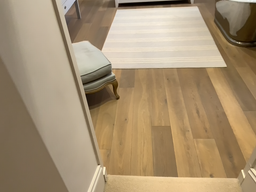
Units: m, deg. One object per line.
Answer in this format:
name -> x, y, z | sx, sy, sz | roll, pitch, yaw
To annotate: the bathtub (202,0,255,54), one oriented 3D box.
bathtub -> 1.770, -1.360, 3.380 | 0.770, 0.690, 1.570 | 1, 40, 7
